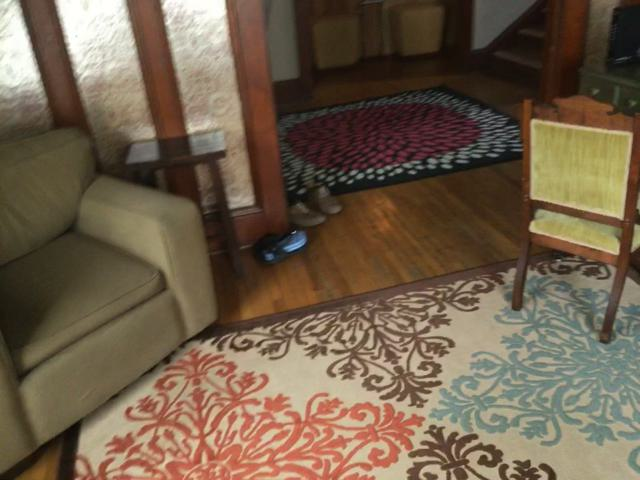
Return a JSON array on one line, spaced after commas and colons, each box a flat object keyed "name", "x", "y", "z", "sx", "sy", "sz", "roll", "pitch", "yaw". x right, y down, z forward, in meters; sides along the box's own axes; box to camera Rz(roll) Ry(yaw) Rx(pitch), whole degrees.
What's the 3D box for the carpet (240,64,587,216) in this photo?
[{"name": "carpet", "x": 0.490, "y": -0.920, "z": 4.540, "sx": 2.070, "sy": 0.160, "sz": 2.170, "roll": -12, "pitch": 29, "yaw": -7}]
